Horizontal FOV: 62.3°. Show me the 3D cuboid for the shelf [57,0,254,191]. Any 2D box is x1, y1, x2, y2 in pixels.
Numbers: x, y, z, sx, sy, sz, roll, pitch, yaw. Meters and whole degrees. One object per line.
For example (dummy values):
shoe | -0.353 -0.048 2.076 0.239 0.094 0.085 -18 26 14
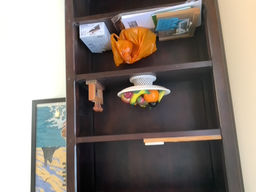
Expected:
shelf | 0.090 -0.230 1.320 0.920 1.780 0.390 -5 171 6
